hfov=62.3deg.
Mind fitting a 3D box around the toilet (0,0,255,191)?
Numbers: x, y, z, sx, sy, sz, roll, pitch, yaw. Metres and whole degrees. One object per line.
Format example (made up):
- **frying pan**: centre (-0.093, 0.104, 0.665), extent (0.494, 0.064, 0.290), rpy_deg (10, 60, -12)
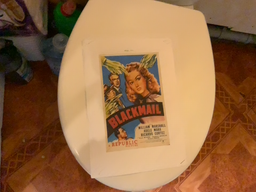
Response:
- **toilet**: centre (0.050, -0.120, 0.570), extent (0.410, 0.740, 0.680), rpy_deg (7, 77, -9)
